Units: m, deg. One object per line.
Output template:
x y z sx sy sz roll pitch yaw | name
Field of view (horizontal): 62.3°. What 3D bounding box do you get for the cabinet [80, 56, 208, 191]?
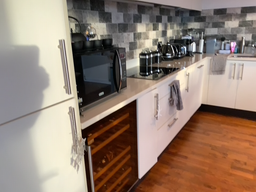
0.410 0.080 2.670 0.630 0.890 2.050 9 21 31 | cabinet
